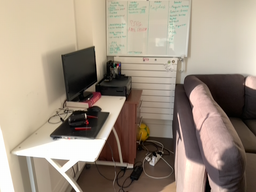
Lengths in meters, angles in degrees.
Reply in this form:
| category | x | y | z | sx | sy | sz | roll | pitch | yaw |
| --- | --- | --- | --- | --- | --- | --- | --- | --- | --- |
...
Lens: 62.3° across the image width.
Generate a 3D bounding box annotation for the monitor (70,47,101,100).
| category | x | y | z | sx | sy | sz | roll | pitch | yaw |
| --- | --- | --- | --- | --- | --- | --- | --- | --- | --- |
| monitor | -0.370 | -0.240 | 1.990 | 0.050 | 0.360 | 0.650 | 3 | 19 | 8 |
